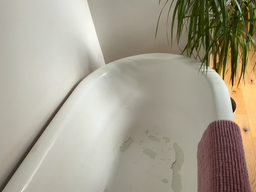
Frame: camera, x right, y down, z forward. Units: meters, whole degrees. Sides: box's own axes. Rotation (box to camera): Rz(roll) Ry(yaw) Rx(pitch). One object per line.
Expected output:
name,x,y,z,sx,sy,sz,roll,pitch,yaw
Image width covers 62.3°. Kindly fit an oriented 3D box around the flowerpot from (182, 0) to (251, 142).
flowerpot,0.470,-0.190,1.180,0.250,1.010,0.260,13,46,27
